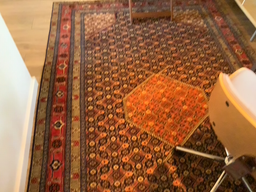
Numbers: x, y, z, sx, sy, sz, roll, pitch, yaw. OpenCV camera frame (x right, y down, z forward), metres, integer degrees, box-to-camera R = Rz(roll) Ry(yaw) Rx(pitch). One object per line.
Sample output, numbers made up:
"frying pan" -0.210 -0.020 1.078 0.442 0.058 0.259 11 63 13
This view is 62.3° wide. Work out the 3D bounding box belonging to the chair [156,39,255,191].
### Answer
"chair" 0.620 0.230 0.950 0.610 0.850 0.600 -34 64 -24
